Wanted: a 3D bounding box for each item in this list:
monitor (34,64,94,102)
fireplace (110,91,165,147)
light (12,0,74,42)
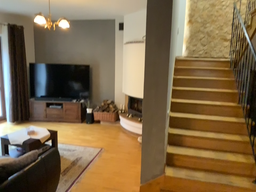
[{"bbox_3d":[-1.800,-0.370,5.980,1.650,1.030,0.040,2,10,1],"label":"monitor"},{"bbox_3d":[0.280,0.500,5.310,1.150,1.010,1.170,4,11,13],"label":"fireplace"},{"bbox_3d":[-1.450,-1.500,3.770,0.690,0.850,0.590,2,-23,4],"label":"light"}]
